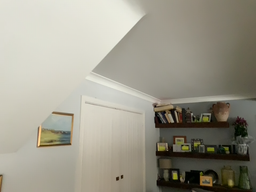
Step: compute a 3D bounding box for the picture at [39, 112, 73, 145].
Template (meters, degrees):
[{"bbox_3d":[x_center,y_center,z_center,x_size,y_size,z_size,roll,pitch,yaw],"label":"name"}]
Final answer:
[{"bbox_3d":[-0.730,0.340,2.200,0.060,0.310,0.390,-5,-11,26],"label":"picture"}]
